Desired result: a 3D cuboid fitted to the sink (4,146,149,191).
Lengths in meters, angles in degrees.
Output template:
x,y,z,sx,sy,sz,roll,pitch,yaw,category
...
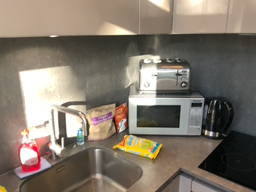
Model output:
x,y,z,sx,sy,sz,roll,pitch,yaw,category
-0.210,0.470,0.960,0.390,0.180,0.490,14,22,39,sink
